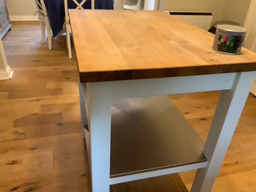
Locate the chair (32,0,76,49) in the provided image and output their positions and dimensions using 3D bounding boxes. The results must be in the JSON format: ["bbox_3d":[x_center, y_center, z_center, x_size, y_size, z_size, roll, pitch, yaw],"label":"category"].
[{"bbox_3d":[-1.120,-1.200,3.230,0.450,0.820,0.390,-22,39,-36],"label":"chair"}]
